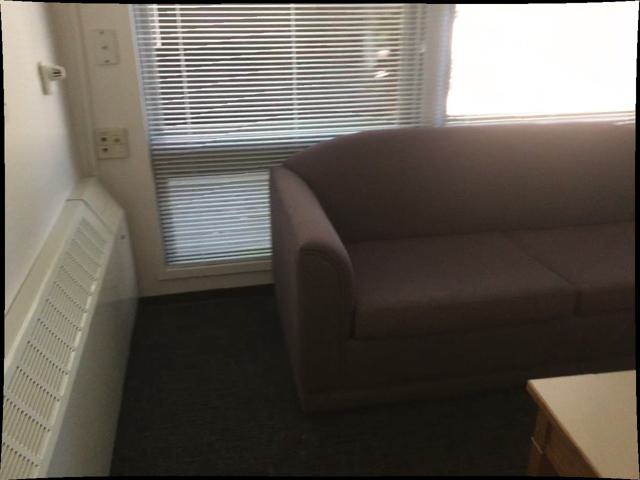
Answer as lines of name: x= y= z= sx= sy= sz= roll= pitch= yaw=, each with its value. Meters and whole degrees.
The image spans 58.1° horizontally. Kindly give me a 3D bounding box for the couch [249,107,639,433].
couch: x=0.689 y=-0.010 z=2.310 sx=1.817 sy=0.761 sz=1.030 roll=-4 pitch=26 yaw=-11
